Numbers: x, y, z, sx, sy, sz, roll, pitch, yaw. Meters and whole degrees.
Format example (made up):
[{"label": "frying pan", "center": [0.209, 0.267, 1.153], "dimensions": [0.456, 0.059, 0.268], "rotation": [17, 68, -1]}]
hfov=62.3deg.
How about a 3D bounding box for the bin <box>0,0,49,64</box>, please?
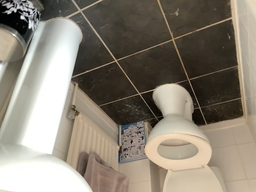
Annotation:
[{"label": "bin", "center": [-0.490, -0.310, 0.880], "dimensions": [0.170, 0.240, 0.190], "rotation": [-22, 137, 26]}]
